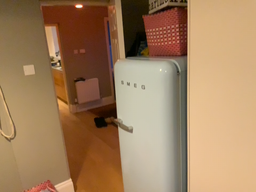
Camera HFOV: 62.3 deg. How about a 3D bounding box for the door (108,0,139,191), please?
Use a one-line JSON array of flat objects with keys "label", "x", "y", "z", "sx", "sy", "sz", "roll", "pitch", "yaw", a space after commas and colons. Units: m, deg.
[{"label": "door", "x": -0.050, "y": 0.010, "z": 2.190, "sx": 0.100, "sy": 2.030, "sz": 0.780, "roll": -6, "pitch": 16, "yaw": -7}]
